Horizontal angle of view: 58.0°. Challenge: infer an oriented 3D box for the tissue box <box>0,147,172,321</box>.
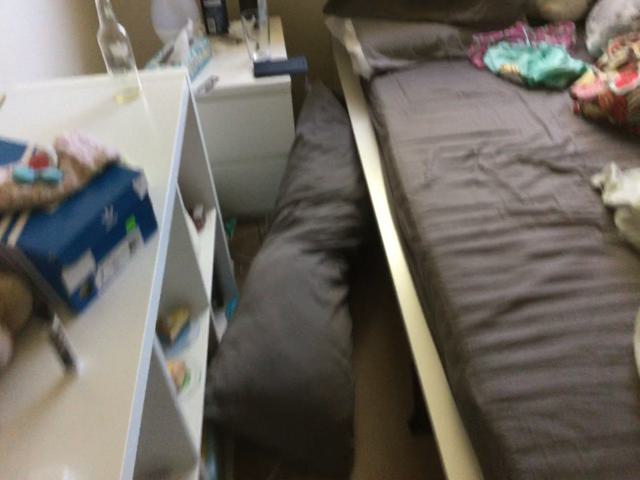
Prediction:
[{"bbox_3d":[-0.400,-0.020,0.830,0.280,0.120,0.220,4,43,14],"label":"tissue box"}]
